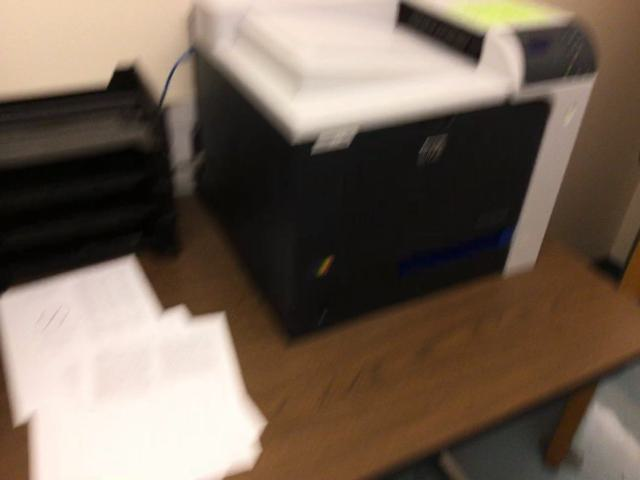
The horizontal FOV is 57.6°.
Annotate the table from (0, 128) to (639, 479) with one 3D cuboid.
[{"bbox_3d":[-0.270,0.400,1.130,1.530,0.770,0.770,-14,38,-23],"label":"table"}]

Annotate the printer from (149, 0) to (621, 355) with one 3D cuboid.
[{"bbox_3d":[0.060,-0.200,1.050,0.570,0.420,0.520,-14,38,-23],"label":"printer"}]
